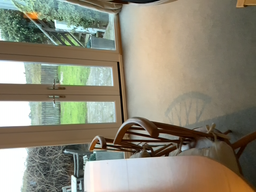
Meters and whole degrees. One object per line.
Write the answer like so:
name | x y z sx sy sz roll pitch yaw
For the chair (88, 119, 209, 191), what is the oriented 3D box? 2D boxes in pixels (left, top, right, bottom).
chair | 0.120 0.500 1.670 0.440 0.770 0.500 131 135 -59
